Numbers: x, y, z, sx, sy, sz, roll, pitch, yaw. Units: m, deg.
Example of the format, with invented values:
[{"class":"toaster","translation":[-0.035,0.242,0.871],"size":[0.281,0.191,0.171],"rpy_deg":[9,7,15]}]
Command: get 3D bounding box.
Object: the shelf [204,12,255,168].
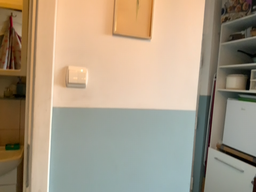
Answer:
[{"class":"shelf","translation":[1.310,-0.070,2.110],"size":[0.670,1.300,0.650],"rpy_deg":[3,4,-19]}]
